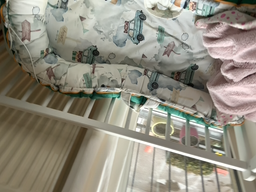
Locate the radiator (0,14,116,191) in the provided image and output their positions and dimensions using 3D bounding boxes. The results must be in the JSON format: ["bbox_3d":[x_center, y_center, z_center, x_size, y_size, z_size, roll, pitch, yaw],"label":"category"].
[{"bbox_3d":[-0.460,-0.020,0.830,0.670,0.830,0.190,15,129,-2],"label":"radiator"}]
